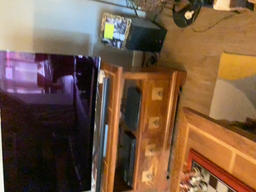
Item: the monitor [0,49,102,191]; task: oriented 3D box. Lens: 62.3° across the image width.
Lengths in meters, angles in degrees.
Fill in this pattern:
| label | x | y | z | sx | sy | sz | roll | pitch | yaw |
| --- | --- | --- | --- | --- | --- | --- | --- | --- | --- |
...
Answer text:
| label | x | y | z | sx | sy | sz | roll | pitch | yaw |
| --- | --- | --- | --- | --- | --- | --- | --- | --- | --- |
| monitor | -0.610 | 0.260 | 1.690 | 0.080 | 0.720 | 1.180 | -148 | 61 | -60 |
